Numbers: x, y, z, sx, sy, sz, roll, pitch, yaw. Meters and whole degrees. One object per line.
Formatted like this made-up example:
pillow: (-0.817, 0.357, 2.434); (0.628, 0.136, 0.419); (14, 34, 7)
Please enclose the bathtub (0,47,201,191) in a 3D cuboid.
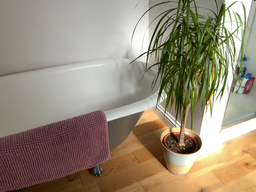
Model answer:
bathtub: (-0.530, 0.240, 1.290); (1.710, 0.590, 0.750); (-15, 34, -20)
